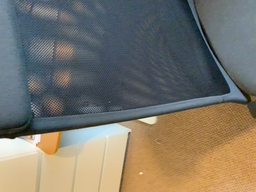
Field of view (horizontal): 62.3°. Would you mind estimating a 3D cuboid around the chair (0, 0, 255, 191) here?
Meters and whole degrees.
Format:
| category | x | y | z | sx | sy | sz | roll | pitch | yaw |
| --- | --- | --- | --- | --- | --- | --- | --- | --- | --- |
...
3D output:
| category | x | y | z | sx | sy | sz | roll | pitch | yaw |
| --- | --- | --- | --- | --- | --- | --- | --- | --- | --- |
| chair | 0.290 | -0.250 | 0.550 | 0.720 | 1.250 | 0.640 | -31 | 71 | 36 |
